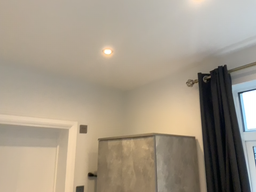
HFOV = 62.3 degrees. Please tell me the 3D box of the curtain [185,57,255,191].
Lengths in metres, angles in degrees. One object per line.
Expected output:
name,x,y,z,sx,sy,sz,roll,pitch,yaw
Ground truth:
curtain,0.690,0.700,1.490,0.190,1.930,0.370,12,-20,-37
